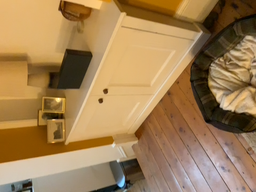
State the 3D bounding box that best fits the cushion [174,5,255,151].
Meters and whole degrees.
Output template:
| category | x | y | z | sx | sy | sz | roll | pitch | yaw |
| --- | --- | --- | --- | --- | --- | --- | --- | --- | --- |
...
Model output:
| category | x | y | z | sx | sy | sz | roll | pitch | yaw |
| --- | --- | --- | --- | --- | --- | --- | --- | --- | --- |
| cushion | 0.700 | -0.120 | 1.220 | 0.740 | 0.250 | 0.680 | 35 | 119 | 49 |
